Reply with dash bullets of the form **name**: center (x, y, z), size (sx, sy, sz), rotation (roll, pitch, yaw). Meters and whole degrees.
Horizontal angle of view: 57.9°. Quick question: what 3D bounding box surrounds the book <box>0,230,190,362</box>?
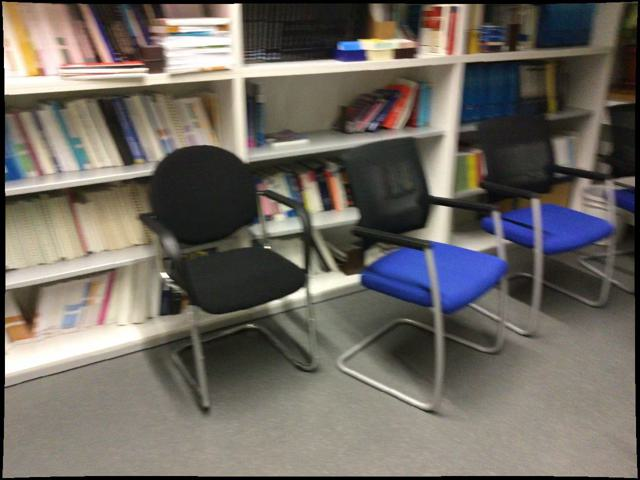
- **book**: center (-1.069, 0.230, 2.600), size (0.859, 0.300, 0.330), rotation (-13, 26, -25)

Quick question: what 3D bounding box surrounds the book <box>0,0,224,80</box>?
- **book**: center (-0.989, -0.821, 2.280), size (1.149, 0.290, 0.300), rotation (-13, 26, -25)

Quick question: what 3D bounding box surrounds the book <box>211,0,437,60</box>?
- **book**: center (0.040, -1.091, 2.780), size (1.059, 0.330, 0.300), rotation (-13, 26, -25)

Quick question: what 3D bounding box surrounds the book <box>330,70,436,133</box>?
- **book**: center (0.330, -0.741, 3.060), size (0.490, 0.240, 0.250), rotation (-13, 26, -25)

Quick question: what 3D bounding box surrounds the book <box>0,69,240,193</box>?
- **book**: center (-0.969, -0.470, 2.390), size (1.169, 0.330, 0.420), rotation (-13, 26, -25)

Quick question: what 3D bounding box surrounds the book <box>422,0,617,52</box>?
- **book**: center (1.129, -1.281, 3.240), size (1.069, 0.340, 0.380), rotation (-13, 26, -25)

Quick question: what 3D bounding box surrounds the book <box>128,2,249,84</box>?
- **book**: center (-0.529, -0.811, 2.350), size (0.410, 0.280, 0.220), rotation (-13, 26, -25)

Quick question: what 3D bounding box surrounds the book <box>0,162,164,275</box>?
- **book**: center (-1.119, -0.100, 2.490), size (0.789, 0.300, 0.290), rotation (-13, 26, -25)

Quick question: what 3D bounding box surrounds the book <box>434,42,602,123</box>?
- **book**: center (1.159, -0.931, 3.360), size (1.039, 0.340, 0.230), rotation (-13, 26, -25)

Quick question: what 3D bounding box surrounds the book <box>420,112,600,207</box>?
- **book**: center (1.159, -0.521, 3.540), size (0.999, 0.350, 0.430), rotation (-13, 26, -25)

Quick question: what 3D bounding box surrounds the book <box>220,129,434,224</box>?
- **book**: center (0.060, -0.360, 3.070), size (1.109, 0.270, 0.290), rotation (-13, 26, -25)
